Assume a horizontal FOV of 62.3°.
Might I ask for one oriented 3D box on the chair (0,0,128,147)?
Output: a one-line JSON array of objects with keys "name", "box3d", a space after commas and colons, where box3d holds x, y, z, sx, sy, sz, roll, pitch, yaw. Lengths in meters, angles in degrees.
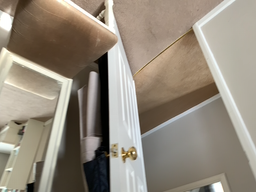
[{"name": "chair", "box3d": [-0.390, -0.280, 1.160, 0.500, 0.880, 0.510, 27, 132, -35]}]
